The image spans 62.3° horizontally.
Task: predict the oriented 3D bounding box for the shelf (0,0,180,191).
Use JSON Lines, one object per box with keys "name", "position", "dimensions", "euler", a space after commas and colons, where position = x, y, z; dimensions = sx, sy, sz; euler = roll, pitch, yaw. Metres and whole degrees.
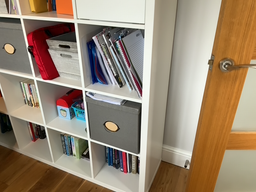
{"name": "shelf", "position": [-0.510, -0.210, 1.430], "dimensions": [1.520, 1.470, 0.430], "euler": [13, 31, 21]}
